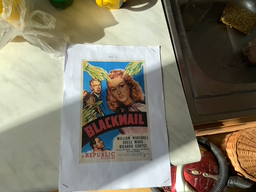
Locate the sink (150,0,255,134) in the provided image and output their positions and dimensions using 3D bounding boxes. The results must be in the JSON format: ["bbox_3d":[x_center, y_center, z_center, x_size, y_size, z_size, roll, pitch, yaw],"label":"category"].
[{"bbox_3d":[0.300,-0.170,0.620,0.360,0.200,0.490,-7,75,-8],"label":"sink"}]
